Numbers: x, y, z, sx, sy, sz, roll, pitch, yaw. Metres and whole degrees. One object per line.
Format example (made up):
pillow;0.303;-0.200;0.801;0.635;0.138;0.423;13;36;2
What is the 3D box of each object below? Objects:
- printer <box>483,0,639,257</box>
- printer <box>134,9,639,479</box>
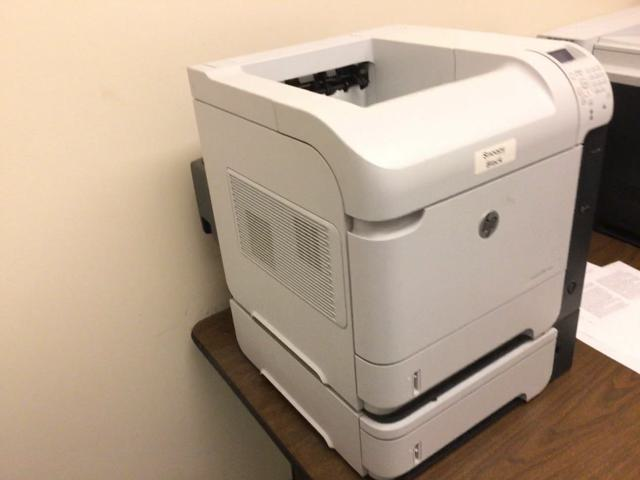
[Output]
printer;0.790;-0.310;1.360;0.570;0.420;0.520;-23;34;-26
printer;0.080;-0.020;0.900;0.450;0.520;0.530;-23;34;-26
